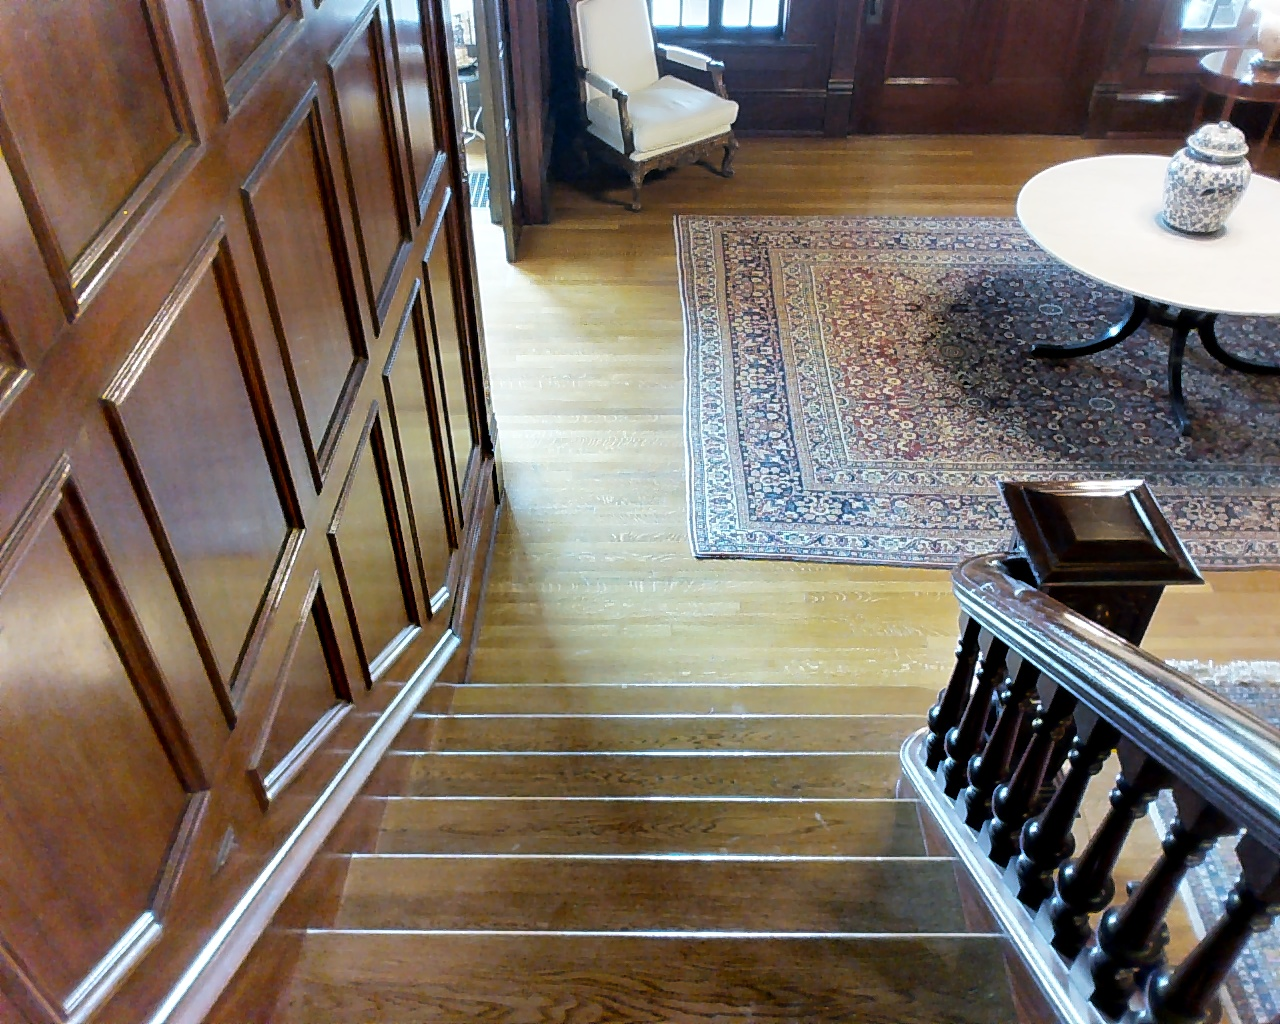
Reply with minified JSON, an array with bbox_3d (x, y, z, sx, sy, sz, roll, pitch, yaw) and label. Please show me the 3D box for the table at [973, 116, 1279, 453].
[{"bbox_3d":[2.530,-1.140,5.140,1.590,0.750,1.570,11,43,12],"label":"table"}]
